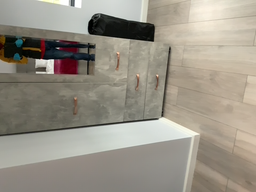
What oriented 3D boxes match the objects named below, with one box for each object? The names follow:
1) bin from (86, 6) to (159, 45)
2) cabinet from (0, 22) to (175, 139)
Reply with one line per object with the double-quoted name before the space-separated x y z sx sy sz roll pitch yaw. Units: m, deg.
"bin" -0.050 -0.710 2.200 0.220 0.720 0.270 26 114 57
"cabinet" -0.530 -0.160 1.880 0.560 1.860 0.770 25 113 57
